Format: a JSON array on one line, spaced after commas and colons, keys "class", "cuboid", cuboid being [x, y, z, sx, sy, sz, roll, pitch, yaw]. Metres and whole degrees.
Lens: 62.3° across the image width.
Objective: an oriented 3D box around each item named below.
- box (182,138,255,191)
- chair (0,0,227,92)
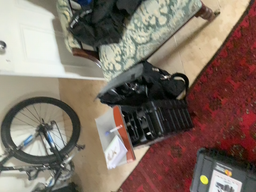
[{"class": "box", "cuboid": [0.480, 0.430, 1.040, 0.360, 0.140, 0.320, 16, 102, 43]}, {"class": "chair", "cuboid": [-0.170, -0.570, 1.150, 0.700, 0.900, 0.840, -43, 62, 36]}]
